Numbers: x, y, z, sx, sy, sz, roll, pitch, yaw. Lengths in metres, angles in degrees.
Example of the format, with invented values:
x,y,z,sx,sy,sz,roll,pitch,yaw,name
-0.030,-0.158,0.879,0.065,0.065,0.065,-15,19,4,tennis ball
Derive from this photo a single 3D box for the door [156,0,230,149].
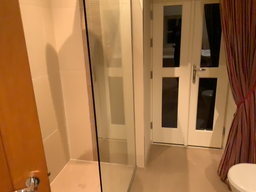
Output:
x,y,z,sx,sy,sz,roll,pitch,yaw,name
0.710,-0.250,2.500,0.740,1.890,0.030,2,18,13,door
